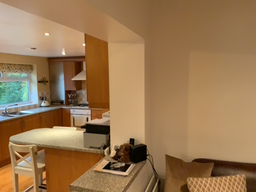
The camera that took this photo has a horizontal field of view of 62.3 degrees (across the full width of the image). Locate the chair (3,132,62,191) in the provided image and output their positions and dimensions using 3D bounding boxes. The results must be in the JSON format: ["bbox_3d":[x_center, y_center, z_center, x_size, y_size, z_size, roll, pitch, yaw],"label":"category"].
[{"bbox_3d":[-1.180,0.960,2.690,0.440,0.870,0.470,1,5,19],"label":"chair"}]
